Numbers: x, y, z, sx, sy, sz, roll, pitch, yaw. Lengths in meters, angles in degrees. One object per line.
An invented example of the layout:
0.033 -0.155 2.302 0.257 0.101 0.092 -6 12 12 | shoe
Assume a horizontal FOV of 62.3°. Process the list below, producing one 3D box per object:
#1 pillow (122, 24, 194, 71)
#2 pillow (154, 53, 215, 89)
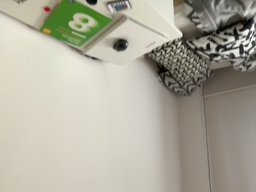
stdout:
0.230 -0.320 1.530 0.350 0.070 0.450 -10 161 33 | pillow
0.520 -0.200 1.910 0.380 0.080 0.500 -10 161 33 | pillow
